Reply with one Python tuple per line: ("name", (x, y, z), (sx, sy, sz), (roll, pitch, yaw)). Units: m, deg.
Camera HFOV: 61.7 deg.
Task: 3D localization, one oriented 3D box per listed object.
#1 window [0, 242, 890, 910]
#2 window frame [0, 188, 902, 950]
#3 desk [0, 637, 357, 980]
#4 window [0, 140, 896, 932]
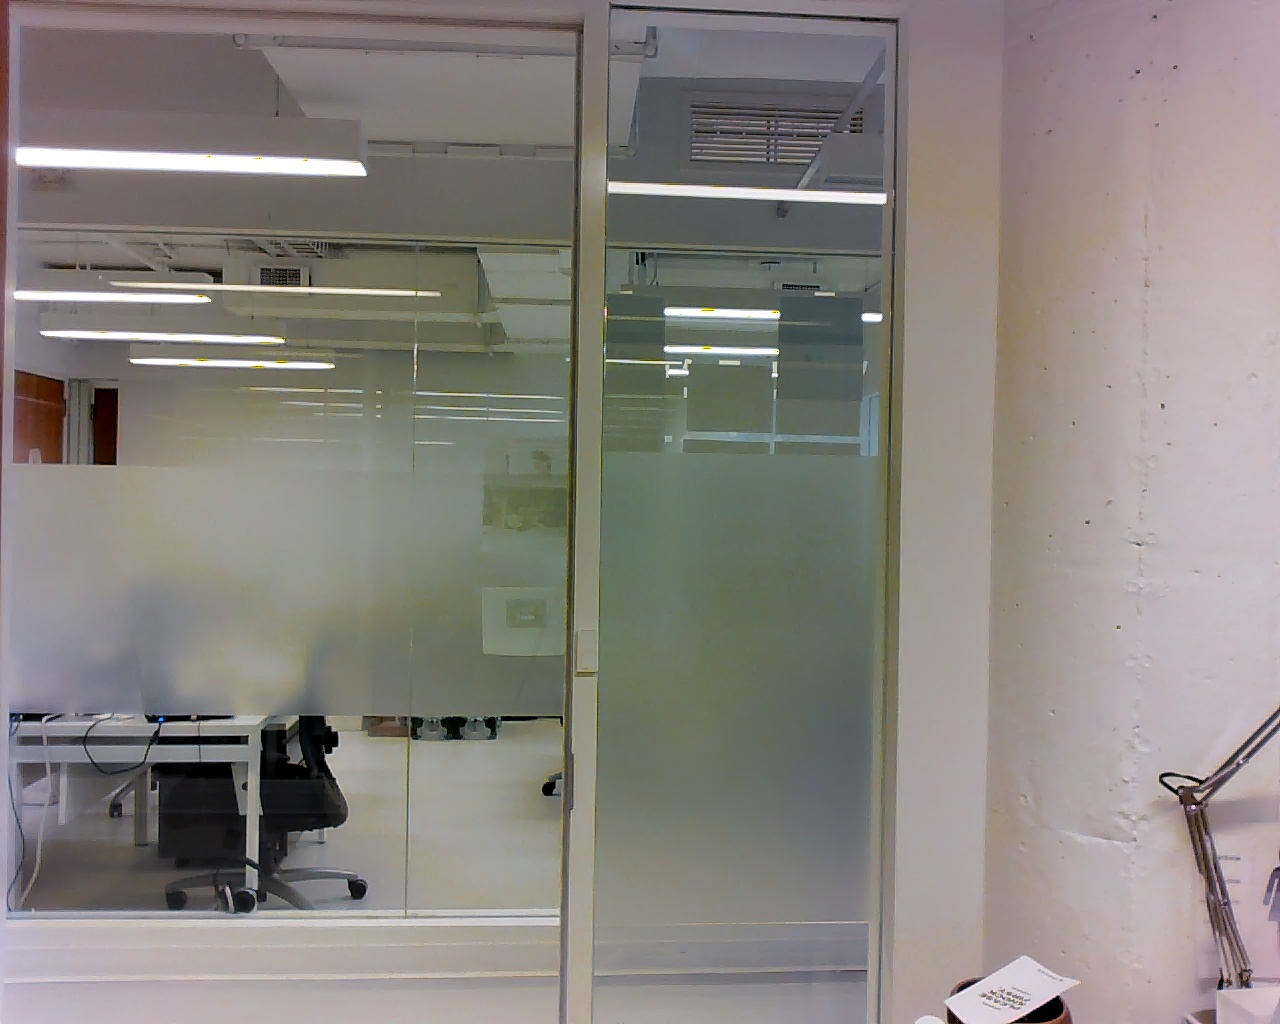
("window", (-1.510, 0.200, 3.320), (4.579, 2.000, 0.160), (1, 0, -5))
("window frame", (-1.510, 0.180, 3.340), (4.659, 2.291, 0.170), (1, 0, -5))
("desk", (-2.150, 1.030, 4.330), (1.590, 0.770, 2.180), (1, 0, -5))
("window", (-1.600, 0.080, 3.270), (4.799, 2.371, 0.070), (1, 0, -5))
